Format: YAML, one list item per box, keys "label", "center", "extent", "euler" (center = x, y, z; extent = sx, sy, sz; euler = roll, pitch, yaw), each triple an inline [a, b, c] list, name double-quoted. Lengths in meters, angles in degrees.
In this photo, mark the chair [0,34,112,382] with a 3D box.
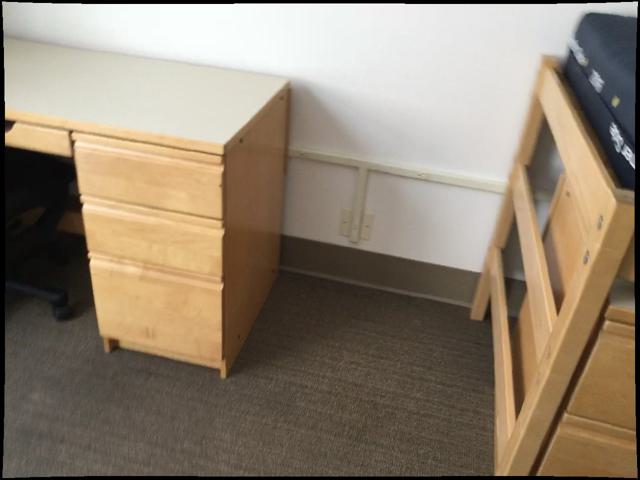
- label: "chair"
  center: [-1.069, -0.130, 1.710]
  extent: [0.599, 0.831, 0.530]
  euler: [11, 32, 8]
